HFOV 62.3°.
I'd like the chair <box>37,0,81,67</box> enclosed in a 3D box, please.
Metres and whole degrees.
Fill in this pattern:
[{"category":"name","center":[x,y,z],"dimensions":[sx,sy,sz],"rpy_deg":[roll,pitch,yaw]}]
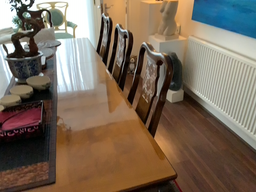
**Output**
[{"category":"chair","center":[-1.200,-1.120,3.730],"dimensions":[0.550,1.010,0.540],"rpy_deg":[-10,30,-17]}]

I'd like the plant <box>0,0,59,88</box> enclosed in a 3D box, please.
[{"category":"plant","center":[-0.650,-0.420,1.320],"dimensions":[0.320,0.640,0.280],"rpy_deg":[-9,30,-14]}]

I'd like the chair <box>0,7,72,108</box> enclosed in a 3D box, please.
[{"category":"chair","center":[-1.060,-0.500,2.600],"dimensions":[0.590,1.020,0.660],"rpy_deg":[-7,29,-12]}]

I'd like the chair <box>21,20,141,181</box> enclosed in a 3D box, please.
[{"category":"chair","center":[-0.310,0.010,1.650],"dimensions":[0.660,1.030,0.550],"rpy_deg":[-9,30,-15]}]

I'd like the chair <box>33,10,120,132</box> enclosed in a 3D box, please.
[{"category":"chair","center":[-0.480,-0.270,2.160],"dimensions":[0.650,1.040,0.540],"rpy_deg":[-9,30,-15]}]
